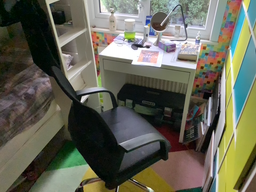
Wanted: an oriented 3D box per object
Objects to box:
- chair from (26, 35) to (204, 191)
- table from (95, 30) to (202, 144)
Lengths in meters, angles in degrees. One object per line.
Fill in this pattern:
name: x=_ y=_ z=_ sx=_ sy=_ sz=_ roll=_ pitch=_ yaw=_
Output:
chair: x=-0.080 y=0.240 z=1.310 sx=0.640 sy=0.960 sz=0.610 roll=-23 pitch=41 yaw=-29
table: x=0.210 y=-0.120 z=2.000 sx=0.770 sy=0.740 sz=0.620 roll=11 pitch=37 yaw=16
